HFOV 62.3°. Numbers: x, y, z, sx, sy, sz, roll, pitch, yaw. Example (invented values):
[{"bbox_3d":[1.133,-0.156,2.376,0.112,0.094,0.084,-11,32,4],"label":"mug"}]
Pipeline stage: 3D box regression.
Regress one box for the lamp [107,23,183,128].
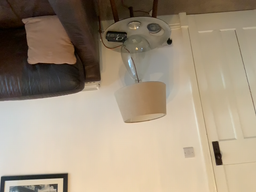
[{"bbox_3d":[0.100,-0.130,1.690,0.450,0.680,0.470,-5,165,-2],"label":"lamp"}]
